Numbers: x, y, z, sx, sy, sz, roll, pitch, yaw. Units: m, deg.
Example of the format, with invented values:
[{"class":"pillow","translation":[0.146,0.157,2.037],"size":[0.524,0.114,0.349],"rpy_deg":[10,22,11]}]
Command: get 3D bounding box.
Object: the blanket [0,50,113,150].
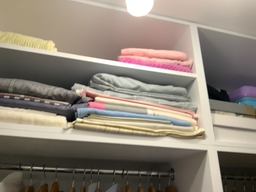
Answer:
[{"class":"blanket","translation":[-0.330,0.040,0.830],"size":[0.510,0.250,0.340],"rpy_deg":[4,-26,-7]}]
